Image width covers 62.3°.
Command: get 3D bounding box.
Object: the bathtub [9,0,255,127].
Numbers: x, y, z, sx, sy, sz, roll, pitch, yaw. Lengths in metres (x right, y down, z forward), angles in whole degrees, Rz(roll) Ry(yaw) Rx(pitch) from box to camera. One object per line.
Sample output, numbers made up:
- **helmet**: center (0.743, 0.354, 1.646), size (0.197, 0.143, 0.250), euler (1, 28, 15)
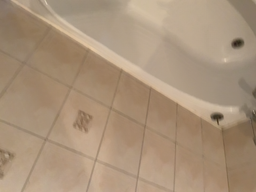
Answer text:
- **bathtub**: center (0.190, -0.500, 1.050), size (1.580, 0.500, 0.690), euler (29, 138, -20)
